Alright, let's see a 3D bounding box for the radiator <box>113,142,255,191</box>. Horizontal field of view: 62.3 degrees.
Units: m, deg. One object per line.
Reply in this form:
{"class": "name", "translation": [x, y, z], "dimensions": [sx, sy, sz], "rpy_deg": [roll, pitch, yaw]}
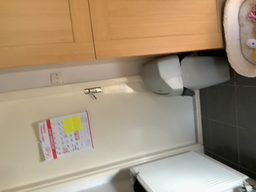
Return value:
{"class": "radiator", "translation": [0.470, 0.710, 1.760], "dimensions": [0.880, 0.980, 0.210], "rpy_deg": [-170, 72, -71]}
